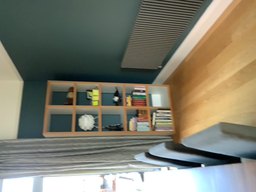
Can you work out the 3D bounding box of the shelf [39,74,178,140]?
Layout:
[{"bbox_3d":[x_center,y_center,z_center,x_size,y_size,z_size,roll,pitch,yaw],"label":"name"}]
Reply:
[{"bbox_3d":[-0.300,0.200,3.660,0.430,2.160,0.990,119,149,-65],"label":"shelf"}]
